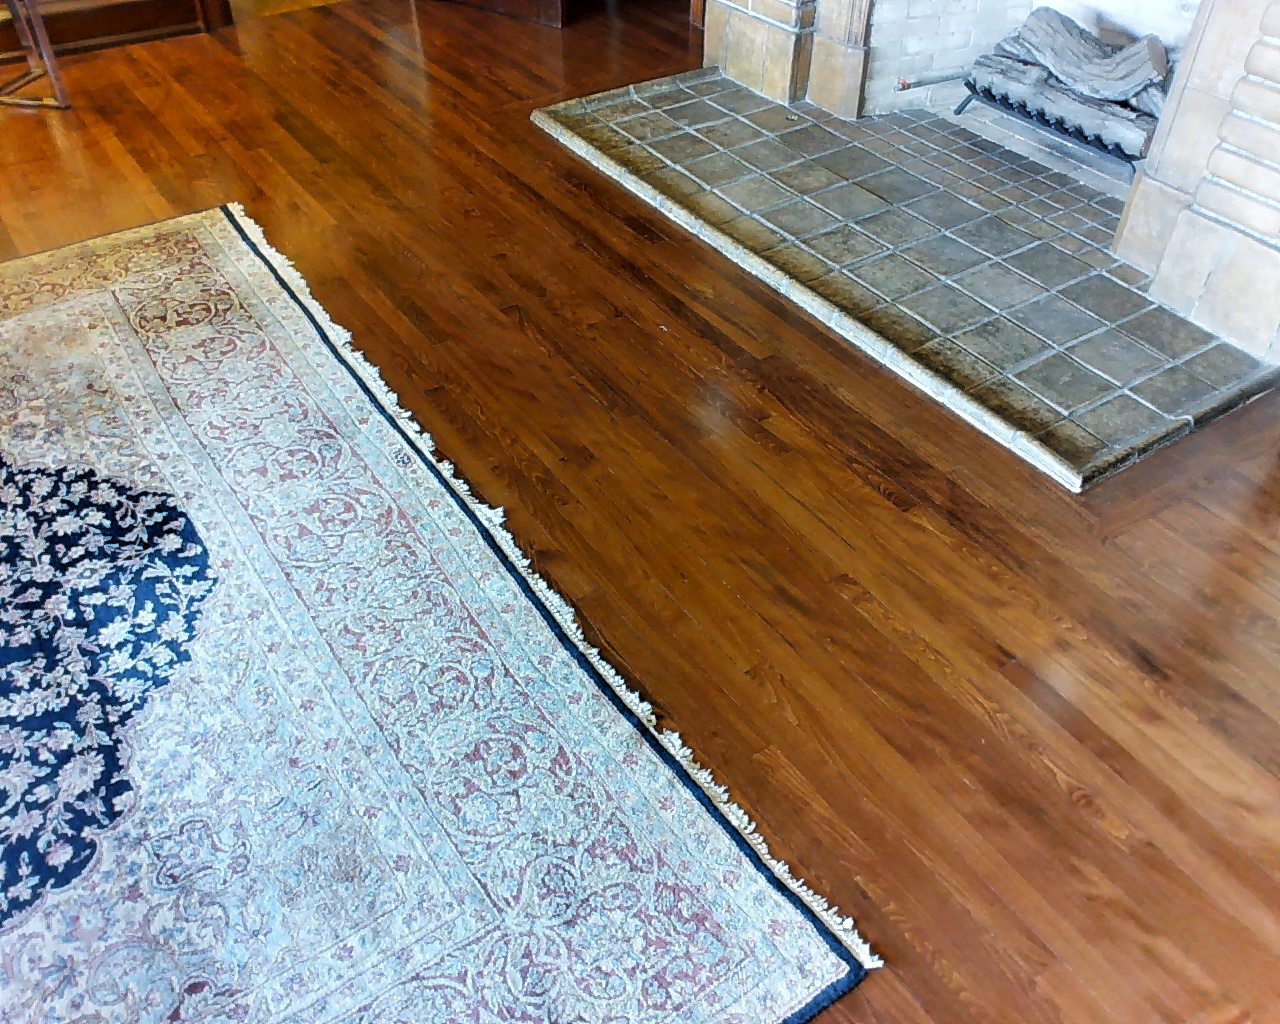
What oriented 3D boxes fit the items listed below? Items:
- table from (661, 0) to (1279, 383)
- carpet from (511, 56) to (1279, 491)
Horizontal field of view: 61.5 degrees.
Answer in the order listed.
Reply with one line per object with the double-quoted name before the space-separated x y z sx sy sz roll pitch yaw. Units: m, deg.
"table" 1.260 -1.710 3.280 0.890 1.290 2.870 -23 47 -25
"carpet" 0.620 -0.950 3.400 0.900 0.040 2.590 -24 48 -25
